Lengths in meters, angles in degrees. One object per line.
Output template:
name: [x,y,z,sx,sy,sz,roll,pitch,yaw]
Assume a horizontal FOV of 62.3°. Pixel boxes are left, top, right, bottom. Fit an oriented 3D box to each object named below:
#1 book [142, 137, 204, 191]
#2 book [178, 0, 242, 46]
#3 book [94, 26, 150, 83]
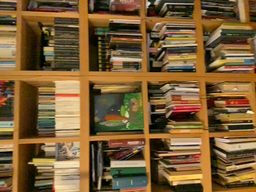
book: [0.310,0.490,1.580,0.340,0.340,0.320,145,125,-79]
book: [0.640,-0.660,1.710,0.320,0.340,0.390,138,131,-78]
book: [-0.060,-0.280,1.530,0.260,0.370,0.330,140,129,-78]
